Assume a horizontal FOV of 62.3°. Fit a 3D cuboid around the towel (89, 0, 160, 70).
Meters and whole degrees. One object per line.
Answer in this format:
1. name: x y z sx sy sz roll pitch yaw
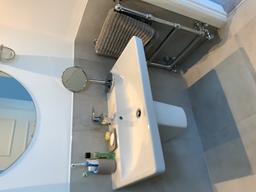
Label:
1. towel: -0.050 -0.420 1.570 0.480 0.340 0.160 -46 43 51
